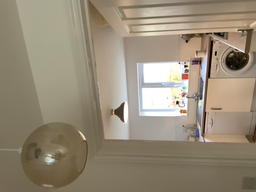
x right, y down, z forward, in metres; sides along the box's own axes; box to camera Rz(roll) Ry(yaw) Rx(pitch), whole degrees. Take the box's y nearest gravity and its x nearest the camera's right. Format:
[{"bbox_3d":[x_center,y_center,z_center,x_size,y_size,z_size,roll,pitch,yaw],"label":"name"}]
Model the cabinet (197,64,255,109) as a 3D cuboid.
[{"bbox_3d":[1.740,-0.170,3.690,0.590,0.910,0.590,-73,-20,-65],"label":"cabinet"}]
